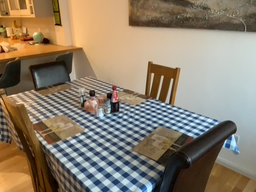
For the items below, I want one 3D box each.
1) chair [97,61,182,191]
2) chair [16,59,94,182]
[{"bbox_3d":[0.100,0.270,1.840,0.530,1.020,0.400,-18,28,-37],"label":"chair"},{"bbox_3d":[-0.690,0.200,2.070,0.410,1.000,0.520,-19,28,-38],"label":"chair"}]
